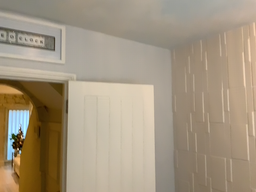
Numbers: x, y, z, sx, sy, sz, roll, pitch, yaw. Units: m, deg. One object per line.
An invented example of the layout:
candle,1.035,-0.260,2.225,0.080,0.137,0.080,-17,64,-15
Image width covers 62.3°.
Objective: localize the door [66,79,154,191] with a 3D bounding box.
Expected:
door,-0.120,0.860,1.710,0.730,1.970,0.030,1,-5,-21
